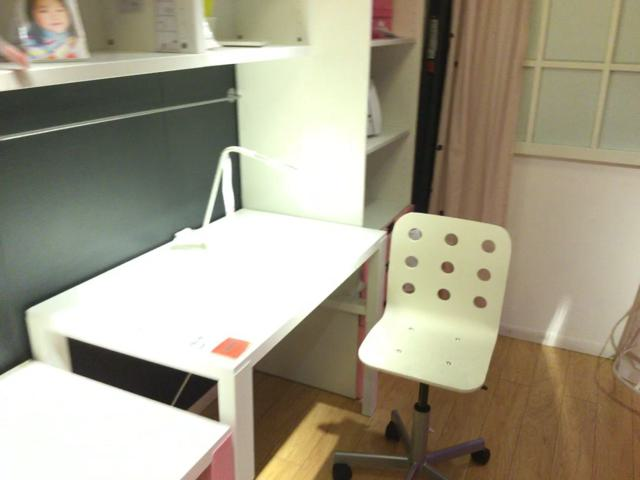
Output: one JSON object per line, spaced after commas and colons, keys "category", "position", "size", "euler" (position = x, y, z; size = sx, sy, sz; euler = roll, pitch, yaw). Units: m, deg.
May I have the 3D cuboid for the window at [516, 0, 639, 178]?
{"category": "window", "position": [1.050, -0.700, 2.070], "size": [0.580, 0.930, 0.100], "euler": [8, 19, 26]}

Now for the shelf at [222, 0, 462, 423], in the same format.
{"category": "shelf", "position": [0.130, -0.410, 2.240], "size": [0.600, 1.940, 0.770], "euler": [8, 19, 27]}
